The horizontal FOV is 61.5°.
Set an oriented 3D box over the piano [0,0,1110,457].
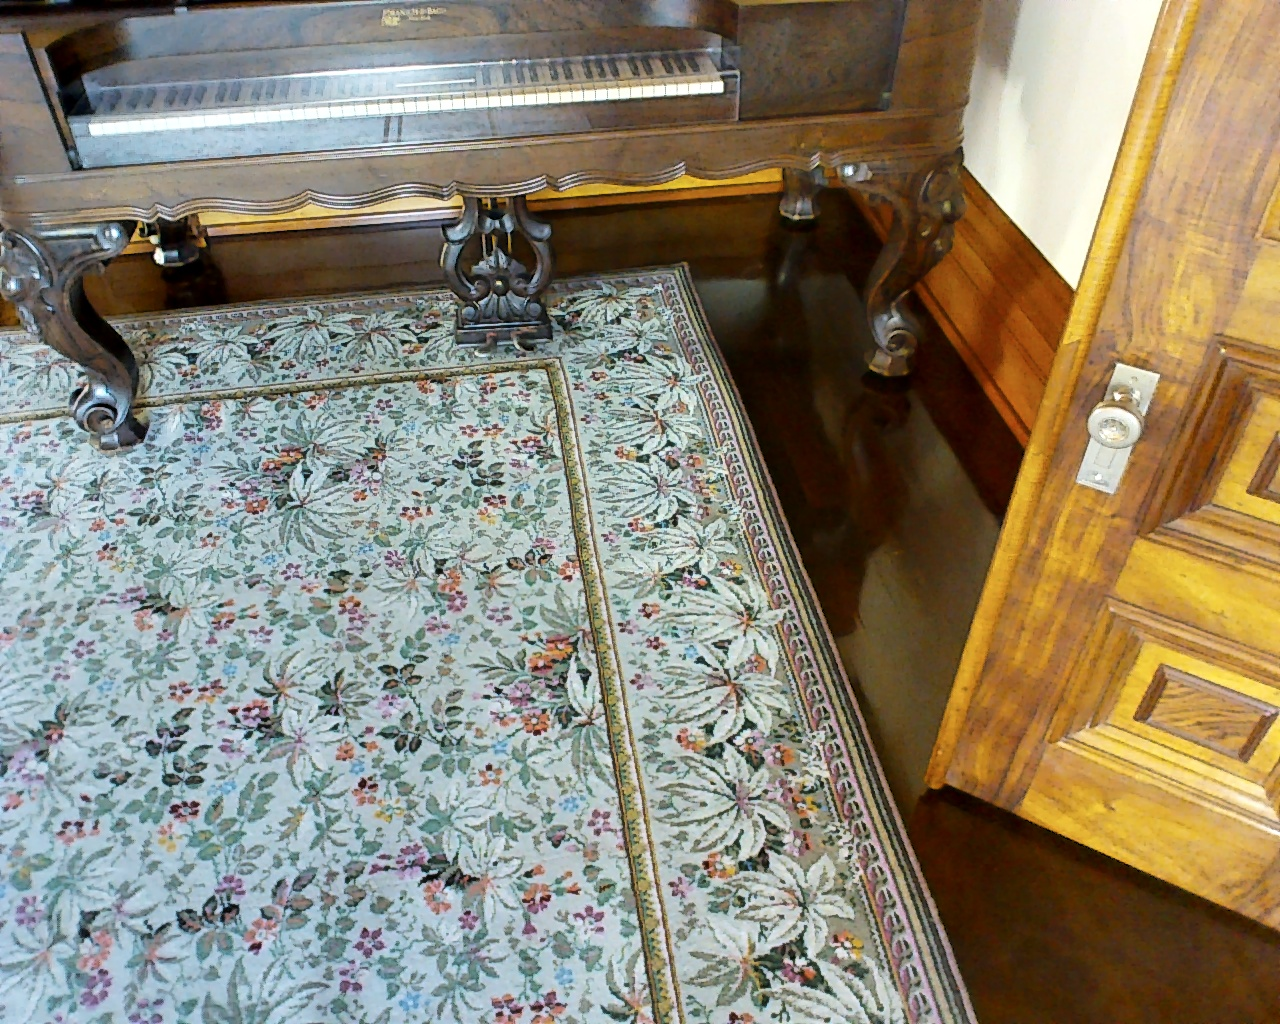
[{"bbox_3d":[-0.280,-1.040,2.610,2.270,1.110,1.130,-7,43,-7],"label":"piano"}]
